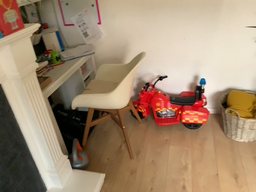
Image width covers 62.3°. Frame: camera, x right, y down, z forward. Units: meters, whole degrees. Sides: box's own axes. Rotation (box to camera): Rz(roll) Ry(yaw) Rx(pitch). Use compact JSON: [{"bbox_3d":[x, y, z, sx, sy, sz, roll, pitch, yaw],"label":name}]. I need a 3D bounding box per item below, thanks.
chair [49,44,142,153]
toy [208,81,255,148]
[{"bbox_3d":[-0.220,0.010,1.930,0.580,0.810,0.500,4,33,14],"label":"chair"},{"bbox_3d":[0.990,0.150,1.910,0.440,0.380,0.400,9,34,21],"label":"toy"}]
